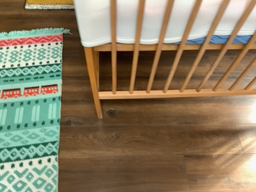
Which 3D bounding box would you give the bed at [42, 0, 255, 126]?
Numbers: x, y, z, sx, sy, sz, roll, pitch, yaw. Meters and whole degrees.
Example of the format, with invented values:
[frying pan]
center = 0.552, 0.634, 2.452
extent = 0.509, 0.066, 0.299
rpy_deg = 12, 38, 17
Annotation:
[bed]
center = 0.500, -0.430, 0.940
extent = 1.490, 1.080, 0.690
rpy_deg = -2, 59, -5
